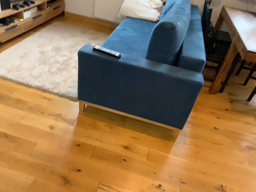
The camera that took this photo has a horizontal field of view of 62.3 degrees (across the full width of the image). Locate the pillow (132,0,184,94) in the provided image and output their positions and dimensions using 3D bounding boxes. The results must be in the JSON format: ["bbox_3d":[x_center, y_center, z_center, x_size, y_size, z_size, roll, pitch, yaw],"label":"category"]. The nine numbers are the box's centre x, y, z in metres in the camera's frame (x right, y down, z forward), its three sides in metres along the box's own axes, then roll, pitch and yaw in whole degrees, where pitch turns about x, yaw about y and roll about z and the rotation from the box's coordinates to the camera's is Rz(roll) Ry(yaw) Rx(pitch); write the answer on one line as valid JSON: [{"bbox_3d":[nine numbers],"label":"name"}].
[{"bbox_3d":[0.310,-0.550,2.030,0.220,0.650,0.900,17,38,6],"label":"pillow"}]

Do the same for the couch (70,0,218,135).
[{"bbox_3d":[0.280,-0.770,2.510,1.000,0.930,2.170,16,38,6],"label":"couch"}]

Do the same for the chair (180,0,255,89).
[{"bbox_3d":[1.010,-0.600,2.520,0.510,0.850,0.390,16,38,5],"label":"chair"}]

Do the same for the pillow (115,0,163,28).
[{"bbox_3d":[0.170,-1.310,3.120,0.570,0.340,0.450,18,38,8],"label":"pillow"}]
